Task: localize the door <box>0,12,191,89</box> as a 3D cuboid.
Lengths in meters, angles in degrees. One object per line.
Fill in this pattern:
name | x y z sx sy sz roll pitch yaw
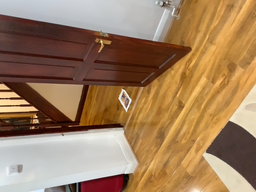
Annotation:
door | -0.460 -0.270 1.650 0.750 1.900 0.050 -42 54 52
